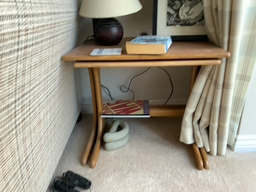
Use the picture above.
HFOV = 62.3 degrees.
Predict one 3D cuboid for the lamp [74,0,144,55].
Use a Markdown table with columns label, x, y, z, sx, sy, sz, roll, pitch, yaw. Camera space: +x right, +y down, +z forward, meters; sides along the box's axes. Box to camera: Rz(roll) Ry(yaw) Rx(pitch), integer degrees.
| label | x | y | z | sx | sy | sz | roll | pitch | yaw |
| --- | --- | --- | --- | --- | --- | --- | --- | --- | --- |
| lamp | -0.060 | -0.320 | 0.870 | 0.240 | 0.240 | 0.260 | 0 | 24 | 2 |
